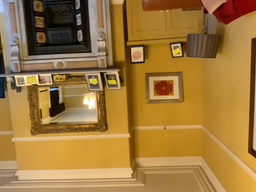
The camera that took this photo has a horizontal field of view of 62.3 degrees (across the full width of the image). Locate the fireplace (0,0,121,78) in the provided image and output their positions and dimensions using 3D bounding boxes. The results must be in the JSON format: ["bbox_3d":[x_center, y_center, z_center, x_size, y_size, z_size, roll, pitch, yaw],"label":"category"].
[{"bbox_3d":[-1.030,-0.970,2.960,1.760,1.330,0.760,-3,-171,2],"label":"fireplace"}]

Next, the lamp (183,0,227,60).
[{"bbox_3d":[0.930,-0.790,2.620,0.420,0.660,0.360,-2,-171,5],"label":"lamp"}]
